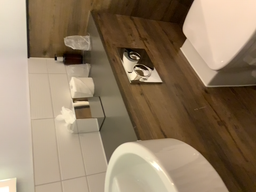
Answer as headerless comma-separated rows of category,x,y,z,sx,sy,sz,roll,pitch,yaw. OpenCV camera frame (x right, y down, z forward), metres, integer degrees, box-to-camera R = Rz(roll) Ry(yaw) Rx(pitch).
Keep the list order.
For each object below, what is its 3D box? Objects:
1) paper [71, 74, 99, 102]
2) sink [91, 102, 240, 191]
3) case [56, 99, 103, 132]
paper,-0.230,-0.040,1.110,0.120,0.110,0.090,-59,42,49
sink,0.080,0.350,0.620,0.450,0.200,0.480,67,148,34
case,-0.230,0.090,1.000,0.090,0.190,0.110,-64,38,44
